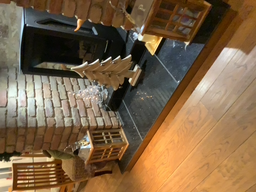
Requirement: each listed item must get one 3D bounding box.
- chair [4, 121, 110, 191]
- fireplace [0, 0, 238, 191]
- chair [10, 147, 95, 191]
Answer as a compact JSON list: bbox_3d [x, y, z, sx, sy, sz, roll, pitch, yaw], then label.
[{"bbox_3d":[-0.800,0.630,2.420,0.530,1.040,0.610,1,89,59],"label":"chair"},{"bbox_3d":[-0.500,-0.260,1.710,1.720,1.320,1.230,-63,39,35],"label":"fireplace"},{"bbox_3d":[-1.100,1.170,3.040,0.610,1.010,0.500,-63,39,35],"label":"chair"}]
